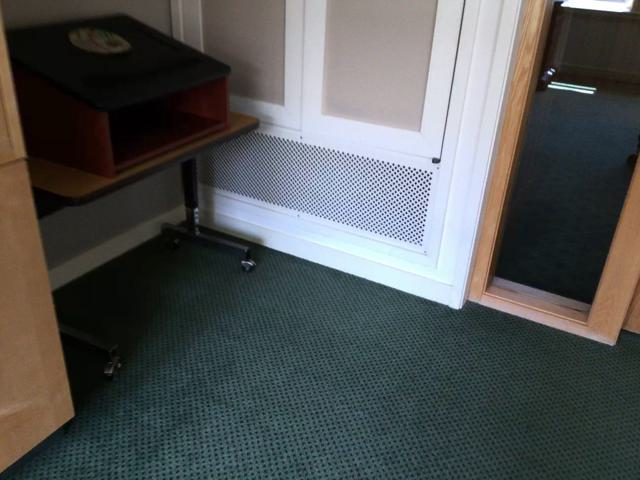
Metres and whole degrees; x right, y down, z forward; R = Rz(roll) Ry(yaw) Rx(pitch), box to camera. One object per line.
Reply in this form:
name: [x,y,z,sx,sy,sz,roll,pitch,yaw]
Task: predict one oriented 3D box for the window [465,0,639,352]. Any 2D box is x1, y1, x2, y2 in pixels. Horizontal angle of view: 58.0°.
window: [0.880,-0.250,1.970,0.520,1.210,0.210,16,28,23]
